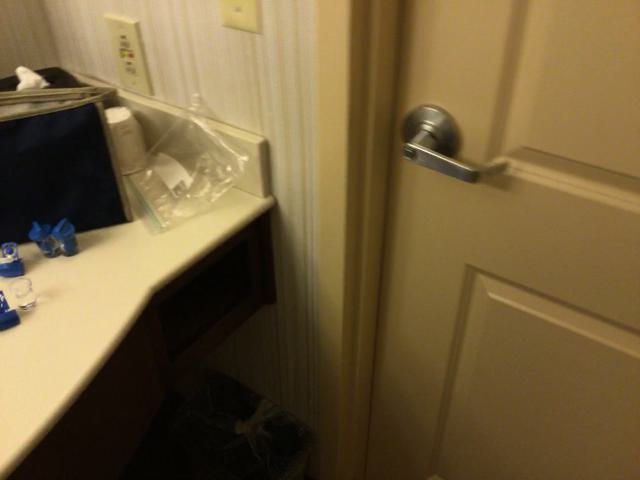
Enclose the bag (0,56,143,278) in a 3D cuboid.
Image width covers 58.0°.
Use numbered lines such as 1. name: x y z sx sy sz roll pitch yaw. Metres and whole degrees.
1. bag: -0.440 -0.100 0.810 0.310 0.200 0.230 -14 37 -14
